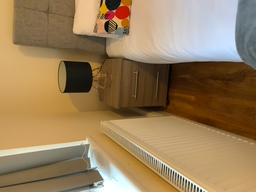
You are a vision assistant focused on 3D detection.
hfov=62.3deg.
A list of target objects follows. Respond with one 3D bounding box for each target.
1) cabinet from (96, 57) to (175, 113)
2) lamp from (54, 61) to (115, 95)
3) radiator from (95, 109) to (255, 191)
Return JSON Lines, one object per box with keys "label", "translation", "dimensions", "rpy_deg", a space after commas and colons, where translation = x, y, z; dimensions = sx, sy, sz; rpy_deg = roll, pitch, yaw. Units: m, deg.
{"label": "cabinet", "translation": [0.050, -0.120, 1.970], "dimensions": [0.480, 0.530, 0.430], "rpy_deg": [16, 105, 60]}
{"label": "lamp", "translation": [-0.360, -0.150, 1.730], "dimensions": [0.300, 0.410, 0.240], "rpy_deg": [16, 105, 60]}
{"label": "radiator", "translation": [0.380, 0.230, 1.000], "dimensions": [1.300, 0.650, 0.080], "rpy_deg": [15, 104, 60]}
